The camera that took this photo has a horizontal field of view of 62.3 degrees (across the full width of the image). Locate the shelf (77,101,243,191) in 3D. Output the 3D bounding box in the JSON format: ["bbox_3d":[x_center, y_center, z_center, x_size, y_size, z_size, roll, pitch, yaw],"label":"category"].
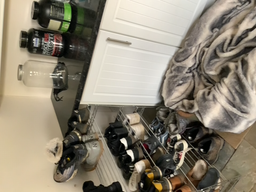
[{"bbox_3d":[0.170,0.410,1.520,0.860,0.790,0.300,49,127,46],"label":"shelf"}]
